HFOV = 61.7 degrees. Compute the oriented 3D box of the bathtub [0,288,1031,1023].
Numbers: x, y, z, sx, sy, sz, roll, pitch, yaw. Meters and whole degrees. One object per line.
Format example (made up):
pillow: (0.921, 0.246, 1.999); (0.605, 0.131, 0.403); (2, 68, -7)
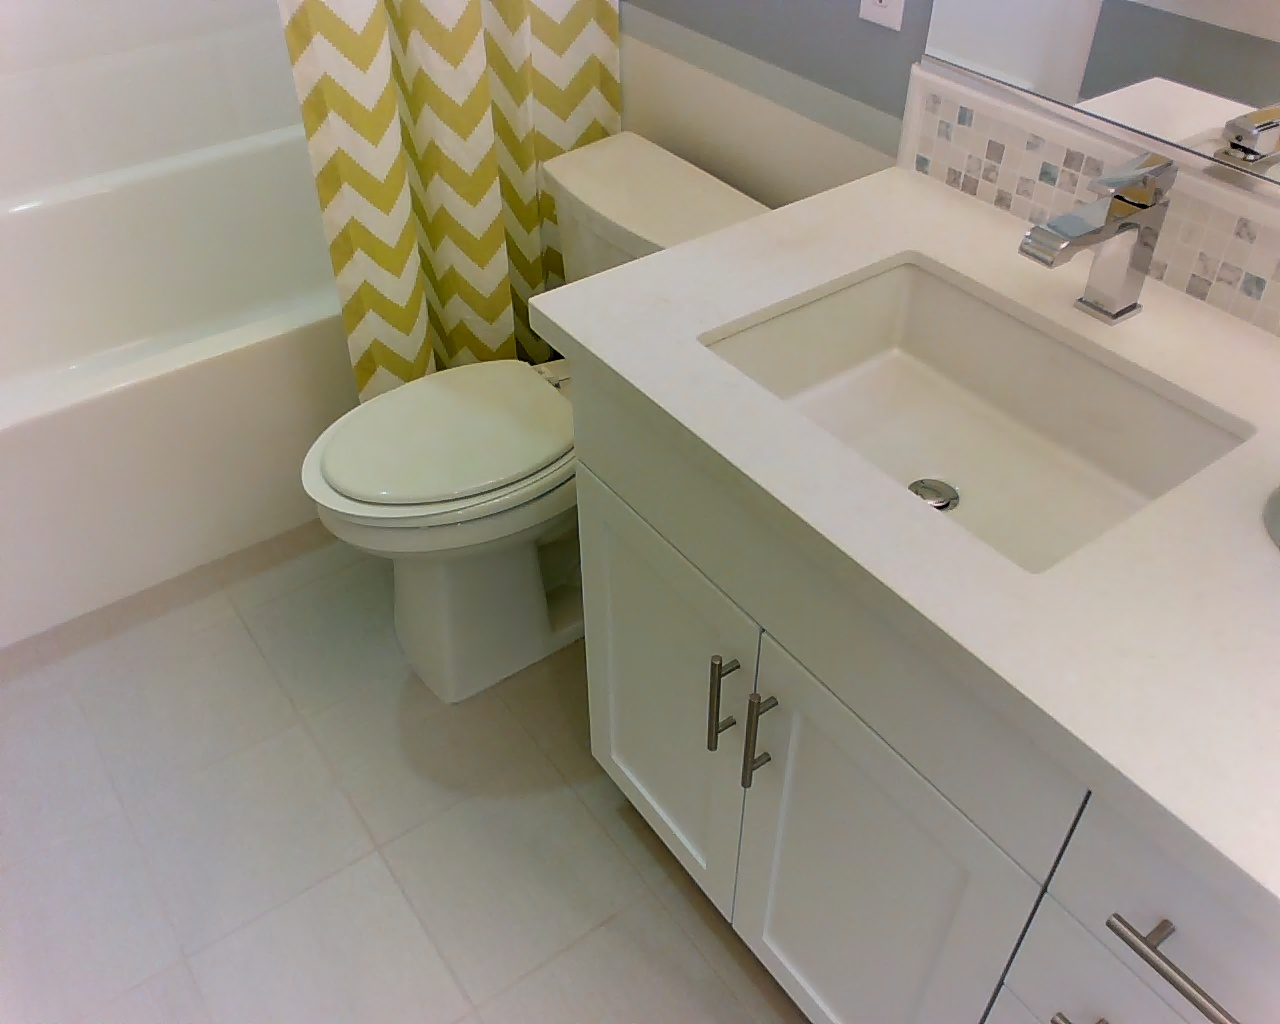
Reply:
bathtub: (-0.220, 0.210, 1.890); (1.480, 0.480, 0.900); (-24, 46, -25)
